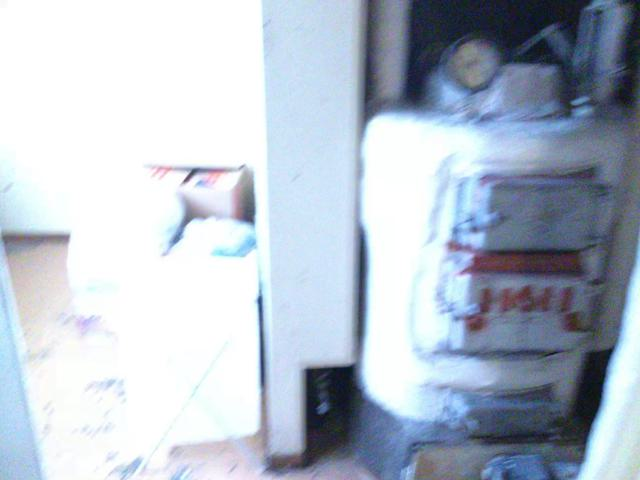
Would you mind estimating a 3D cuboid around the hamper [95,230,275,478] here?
[{"bbox_3d":[-0.410,0.360,1.960,0.490,0.650,0.480,-1,22,-6],"label":"hamper"}]
